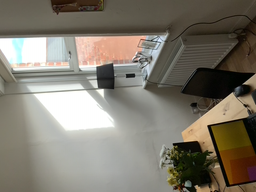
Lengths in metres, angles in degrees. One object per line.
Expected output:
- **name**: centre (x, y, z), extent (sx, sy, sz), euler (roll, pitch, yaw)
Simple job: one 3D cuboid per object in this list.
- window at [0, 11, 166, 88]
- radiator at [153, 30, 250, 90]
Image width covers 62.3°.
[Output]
- **window**: centre (-0.640, -0.490, 2.460), extent (1.080, 1.890, 0.200), euler (110, 153, -64)
- **radiator**: centre (0.790, -0.380, 2.550), extent (1.030, 0.730, 0.120), euler (110, 153, -64)
